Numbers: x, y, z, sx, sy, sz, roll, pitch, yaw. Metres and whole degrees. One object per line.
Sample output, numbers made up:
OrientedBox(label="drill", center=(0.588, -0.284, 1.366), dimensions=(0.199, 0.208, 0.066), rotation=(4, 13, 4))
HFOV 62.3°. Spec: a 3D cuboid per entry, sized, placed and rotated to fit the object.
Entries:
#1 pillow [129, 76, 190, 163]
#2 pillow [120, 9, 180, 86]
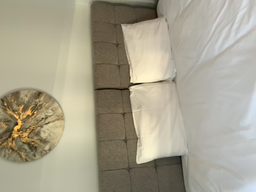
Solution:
OrientedBox(label="pillow", center=(0.250, 0.190, 1.800), dimensions=(0.130, 0.430, 0.690), rotation=(79, -172, -76))
OrientedBox(label="pillow", center=(0.190, -0.460, 1.990), dimensions=(0.140, 0.490, 0.680), rotation=(69, -163, -70))
